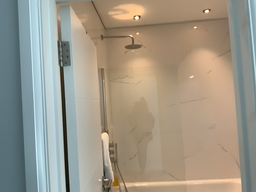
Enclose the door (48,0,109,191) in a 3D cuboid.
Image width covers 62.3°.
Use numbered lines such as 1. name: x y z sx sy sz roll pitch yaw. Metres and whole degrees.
1. door: -0.190 0.620 1.150 0.040 1.970 0.830 -3 -1 3
